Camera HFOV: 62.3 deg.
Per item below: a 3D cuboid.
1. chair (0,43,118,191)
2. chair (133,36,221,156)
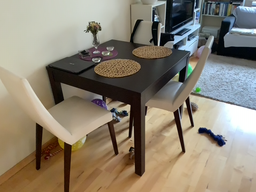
[{"bbox_3d":[-0.480,0.170,1.580,0.480,0.920,0.600,23,38,35],"label":"chair"},{"bbox_3d":[0.420,-0.020,1.910,0.610,0.860,0.490,10,32,20],"label":"chair"}]
